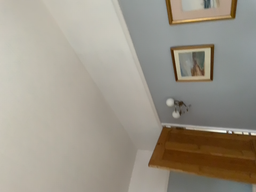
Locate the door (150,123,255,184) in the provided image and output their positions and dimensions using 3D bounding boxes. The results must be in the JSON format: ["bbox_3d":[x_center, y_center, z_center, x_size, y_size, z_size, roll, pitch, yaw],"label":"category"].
[{"bbox_3d":[1.290,0.620,2.320,0.790,1.960,0.060,-53,-40,-55],"label":"door"}]
